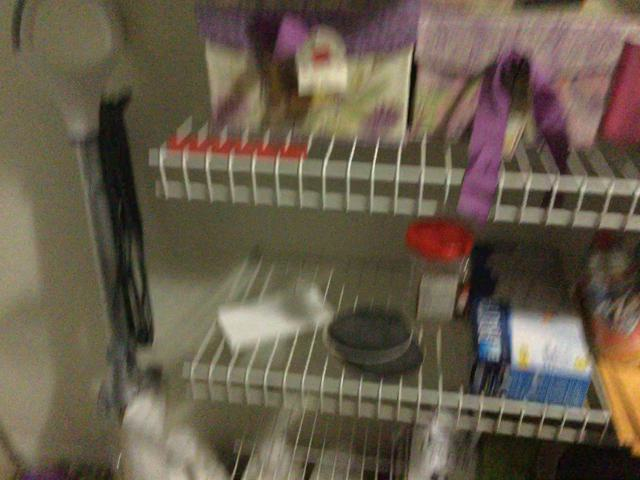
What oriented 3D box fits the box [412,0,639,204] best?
[{"bbox_3d":[0.260,-0.190,0.680,0.280,0.200,0.230,5,30,8],"label":"box"}]
